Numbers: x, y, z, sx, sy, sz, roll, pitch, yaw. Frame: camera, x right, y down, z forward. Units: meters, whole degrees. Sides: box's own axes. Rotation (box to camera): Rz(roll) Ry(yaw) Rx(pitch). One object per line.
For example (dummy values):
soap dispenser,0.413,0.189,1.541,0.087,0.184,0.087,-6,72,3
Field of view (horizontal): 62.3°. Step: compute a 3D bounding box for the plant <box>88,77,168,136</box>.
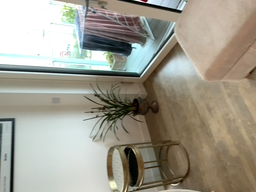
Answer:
plant,-0.020,0.130,2.590,0.390,0.800,0.570,129,135,-53
